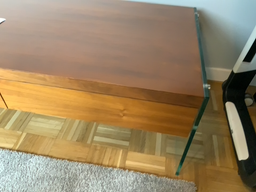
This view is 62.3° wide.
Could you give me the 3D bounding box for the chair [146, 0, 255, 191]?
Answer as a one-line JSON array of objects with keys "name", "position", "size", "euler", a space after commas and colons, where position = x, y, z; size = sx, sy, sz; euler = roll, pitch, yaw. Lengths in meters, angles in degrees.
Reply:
[{"name": "chair", "position": [0.410, -0.260, 0.510], "size": [0.570, 1.180, 0.580], "euler": [7, 44, 3]}]
